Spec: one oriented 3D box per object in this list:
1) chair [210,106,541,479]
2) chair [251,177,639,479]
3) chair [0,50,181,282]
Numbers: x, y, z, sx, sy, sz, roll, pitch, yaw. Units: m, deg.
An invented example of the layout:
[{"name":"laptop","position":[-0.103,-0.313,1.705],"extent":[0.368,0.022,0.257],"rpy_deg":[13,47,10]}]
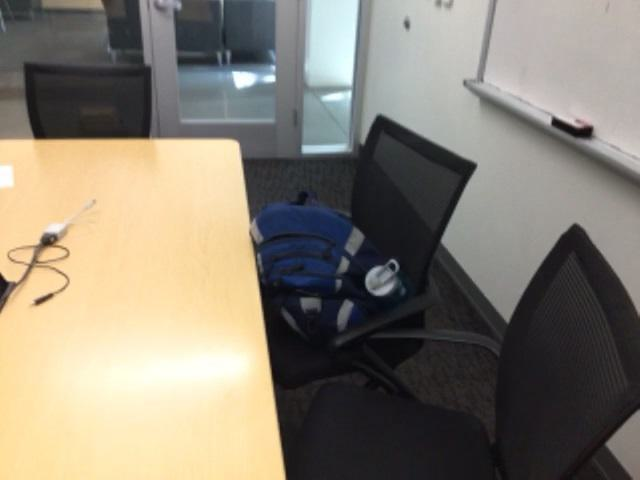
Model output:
[{"name":"chair","position":[0.060,0.170,1.560],"extent":[0.560,0.880,0.620],"rpy_deg":[-8,30,-20]},{"name":"chair","position":[0.200,0.420,1.070],"extent":[0.560,0.880,0.550],"rpy_deg":[5,28,3]},{"name":"chair","position":[-0.850,-0.280,2.100],"extent":[0.610,0.680,0.500],"rpy_deg":[-2,29,-10]}]
